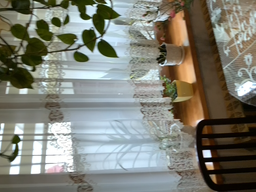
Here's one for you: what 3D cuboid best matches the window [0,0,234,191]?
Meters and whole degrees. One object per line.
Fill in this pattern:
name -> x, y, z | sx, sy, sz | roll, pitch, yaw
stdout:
window -> -0.350, -0.260, 1.330 | 0.260, 1.710, 2.140 | 119, 150, -69
